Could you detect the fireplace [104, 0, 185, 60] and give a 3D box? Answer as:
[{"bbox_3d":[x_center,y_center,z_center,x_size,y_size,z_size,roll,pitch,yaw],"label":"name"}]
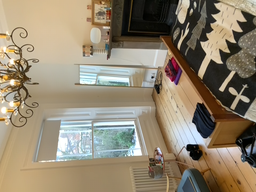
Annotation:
[{"bbox_3d":[0.260,-1.570,3.790,0.560,1.240,1.740,-103,17,-48],"label":"fireplace"}]
